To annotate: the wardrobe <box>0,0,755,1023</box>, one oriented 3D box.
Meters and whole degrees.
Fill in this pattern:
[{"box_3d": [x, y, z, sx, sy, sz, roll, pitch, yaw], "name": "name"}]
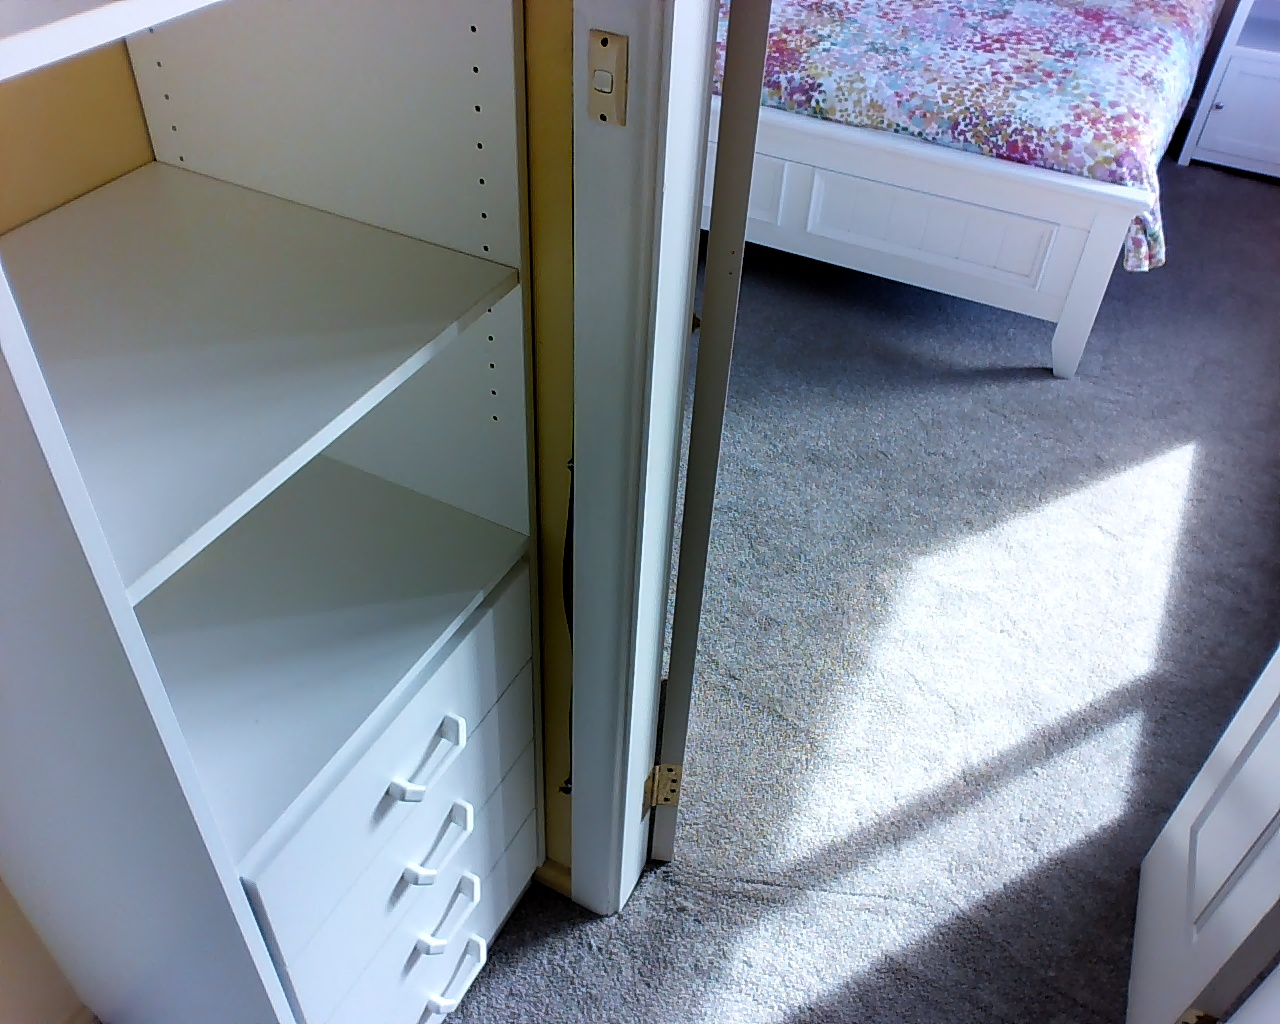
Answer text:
[{"box_3d": [-0.570, 0.200, 0.550, 0.660, 2.020, 1.520, 20, 44, 18], "name": "wardrobe"}]
